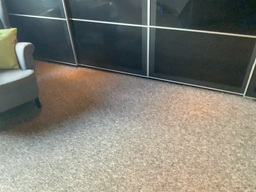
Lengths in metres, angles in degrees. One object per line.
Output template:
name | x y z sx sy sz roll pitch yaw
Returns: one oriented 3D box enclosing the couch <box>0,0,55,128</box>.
couch | -1.330 -0.360 1.950 0.800 0.990 0.900 -23 41 -25
